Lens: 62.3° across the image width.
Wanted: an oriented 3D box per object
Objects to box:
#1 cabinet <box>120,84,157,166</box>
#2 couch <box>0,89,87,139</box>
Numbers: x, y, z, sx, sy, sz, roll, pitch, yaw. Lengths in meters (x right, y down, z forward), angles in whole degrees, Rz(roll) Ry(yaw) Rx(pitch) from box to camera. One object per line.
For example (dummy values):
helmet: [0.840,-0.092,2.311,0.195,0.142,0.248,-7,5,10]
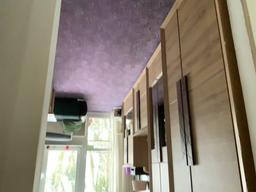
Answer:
cabinet: [0.160,0.600,4.100,0.460,1.410,0.890,4,162,-12]
couch: [-2.000,0.450,4.670,2.050,0.830,0.980,4,163,-12]
